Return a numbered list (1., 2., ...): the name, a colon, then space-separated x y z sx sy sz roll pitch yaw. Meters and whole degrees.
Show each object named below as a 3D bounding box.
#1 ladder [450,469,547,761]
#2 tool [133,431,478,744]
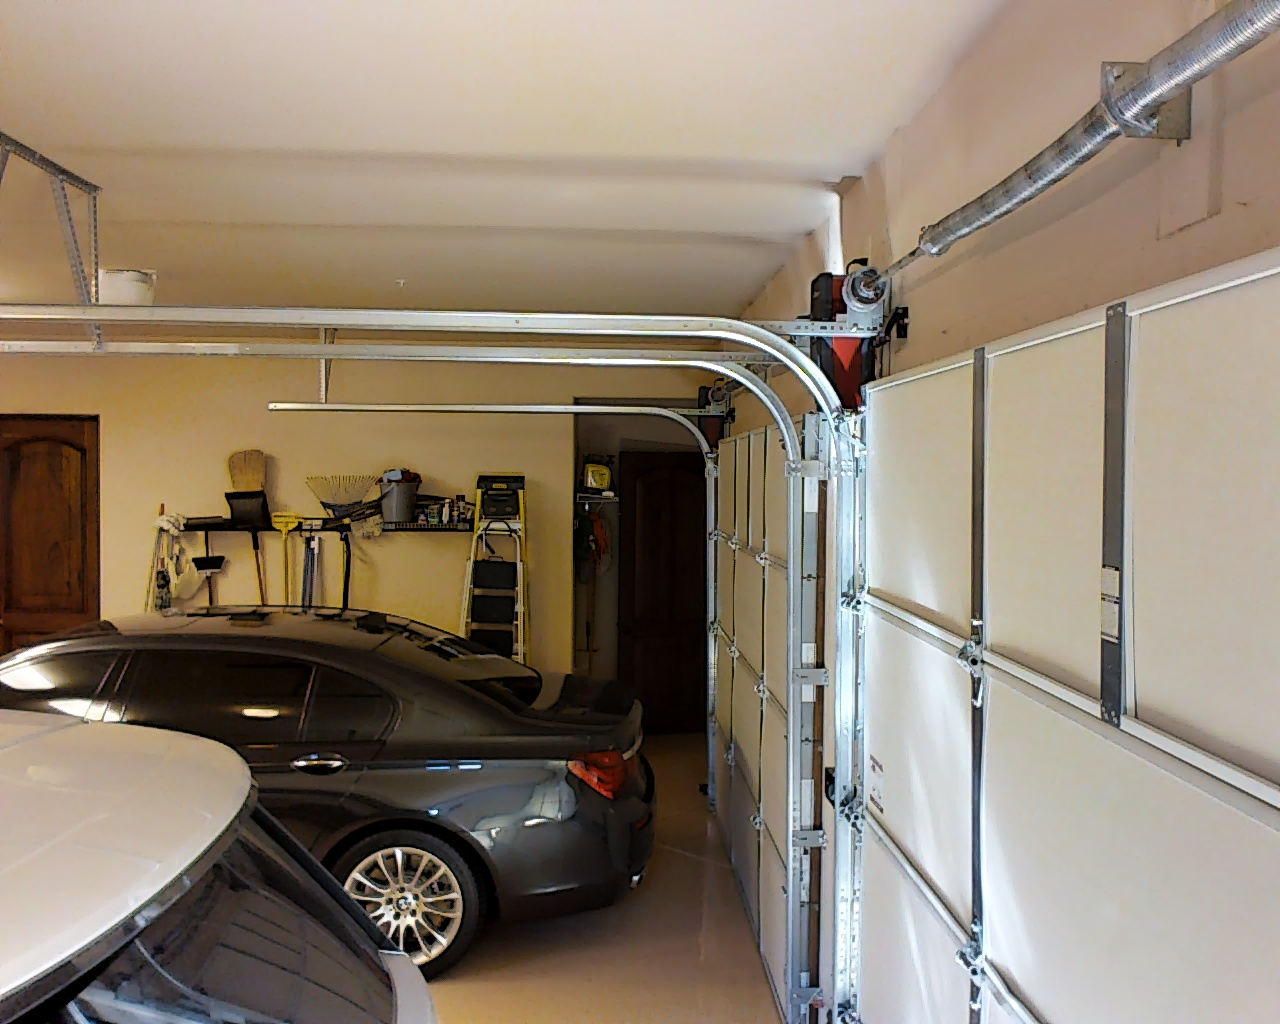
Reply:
1. ladder: -1.030 0.740 7.840 0.660 2.100 0.280 1 2 -2
2. tool: -2.370 0.530 7.690 2.330 2.170 0.400 1 2 -2
